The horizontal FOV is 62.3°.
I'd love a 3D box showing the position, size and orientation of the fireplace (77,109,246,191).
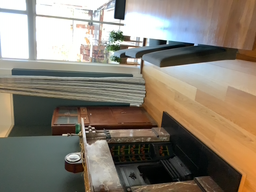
[{"bbox_3d":[0.130,0.810,2.590,1.740,1.360,0.750,-134,48,-67],"label":"fireplace"}]
